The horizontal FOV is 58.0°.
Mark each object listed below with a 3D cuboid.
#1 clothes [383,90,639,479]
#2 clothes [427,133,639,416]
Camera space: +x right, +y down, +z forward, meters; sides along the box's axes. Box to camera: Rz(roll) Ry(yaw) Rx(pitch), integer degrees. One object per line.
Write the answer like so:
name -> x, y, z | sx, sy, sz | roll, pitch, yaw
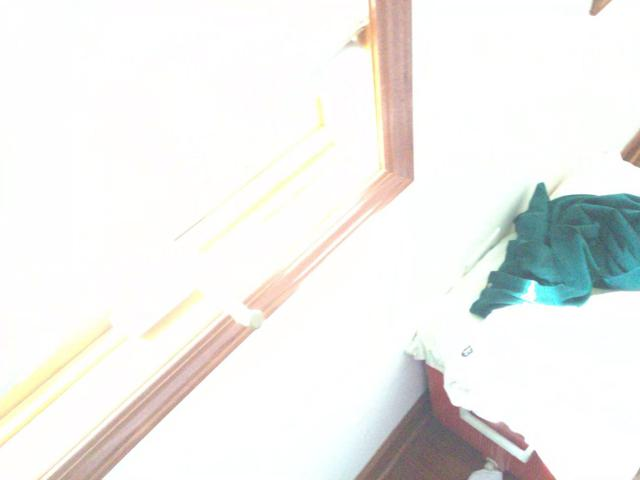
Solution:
clothes -> 0.540, 0.110, 1.050 | 0.710, 0.330, 0.470 | -40, 51, -24
clothes -> 0.440, 0.040, 1.040 | 0.360, 0.210, 0.330 | -40, 51, -24
